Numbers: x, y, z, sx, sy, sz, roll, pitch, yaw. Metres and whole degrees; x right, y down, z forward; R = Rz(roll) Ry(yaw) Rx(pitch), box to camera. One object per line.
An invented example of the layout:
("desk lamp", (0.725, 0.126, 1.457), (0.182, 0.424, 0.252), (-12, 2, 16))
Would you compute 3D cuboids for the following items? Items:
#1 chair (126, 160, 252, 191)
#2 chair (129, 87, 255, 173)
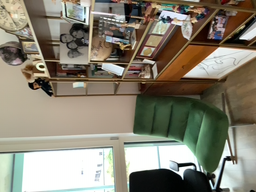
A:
("chair", (0.550, 1.000, 2.060), (0.630, 1.010, 0.620), (137, 132, -73))
("chair", (0.570, 0.270, 2.140), (0.800, 0.940, 0.500), (-122, 34, -67))
